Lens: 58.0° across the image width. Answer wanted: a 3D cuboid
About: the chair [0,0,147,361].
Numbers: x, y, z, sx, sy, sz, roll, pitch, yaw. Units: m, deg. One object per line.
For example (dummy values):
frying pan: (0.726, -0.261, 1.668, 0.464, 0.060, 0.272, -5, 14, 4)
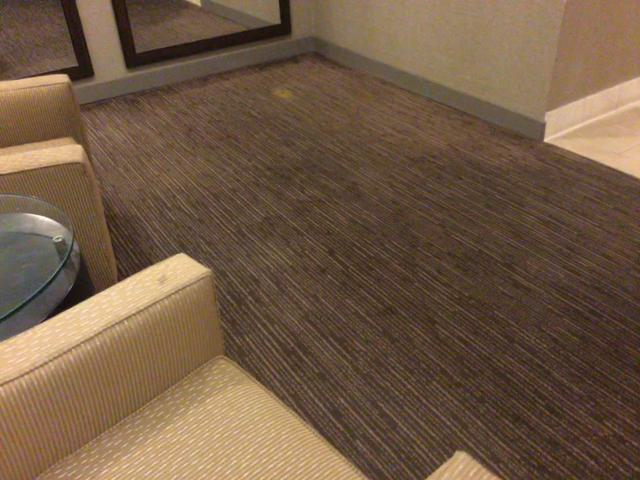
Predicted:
chair: (-1.210, -0.220, 1.890, 0.970, 0.890, 0.920, -14, 36, -15)
